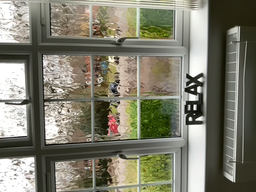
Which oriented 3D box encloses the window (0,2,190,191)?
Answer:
[{"bbox_3d":[-0.250,0.200,1.370,0.100,1.350,1.480,-165,75,-78],"label":"window"}]
